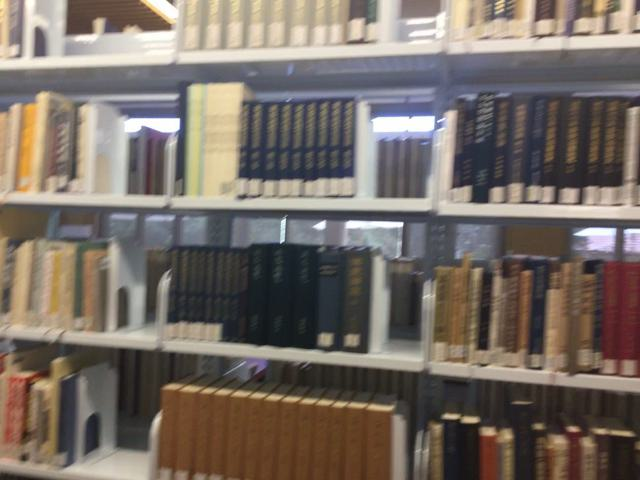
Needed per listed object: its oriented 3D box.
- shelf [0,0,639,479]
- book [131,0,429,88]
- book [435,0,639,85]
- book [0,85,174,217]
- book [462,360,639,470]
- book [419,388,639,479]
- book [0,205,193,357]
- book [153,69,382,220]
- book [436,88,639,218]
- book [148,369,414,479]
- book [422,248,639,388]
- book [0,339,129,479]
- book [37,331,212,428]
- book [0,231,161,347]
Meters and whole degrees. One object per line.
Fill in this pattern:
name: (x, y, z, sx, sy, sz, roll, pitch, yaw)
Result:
shelf: (-1.050, 0.430, 1.700, 3.950, 2.340, 0.690, 2, -1, 10)
book: (-0.080, -0.530, 1.330, 0.650, 0.300, 0.190, 2, -1, 10)
book: (0.490, -0.510, 1.220, 0.470, 0.300, 0.200, 2, -1, 10)
book: (-0.890, -0.220, 1.470, 1.020, 0.290, 0.160, 2, -1, 10)
book: (0.670, 0.470, 1.570, 0.540, 0.220, 0.150, 2, -1, 10)
book: (0.450, 0.470, 1.220, 0.470, 0.230, 0.200, 2, -1, 10)
book: (-0.920, 0.080, 1.510, 1.130, 0.330, 0.250, 2, -1, 10)
book: (-0.110, -0.210, 1.350, 0.480, 0.300, 0.220, 2, -1, 10)
book: (0.480, -0.170, 1.150, 0.480, 0.240, 0.070, 2, -1, 10)
book: (-0.080, 0.440, 1.310, 0.570, 0.220, 0.170, 2, -1, 10)
book: (0.460, 0.150, 1.200, 0.480, 0.250, 0.160, 2, -1, 10)
book: (-0.890, 0.410, 1.500, 0.720, 0.270, 0.220, 2, -1, 10)
book: (-0.600, 0.420, 1.770, 0.530, 0.240, 0.070, 2, -1, 10)
book: (-0.630, 0.110, 1.450, 0.360, 0.250, 0.260, 2, -1, 10)
